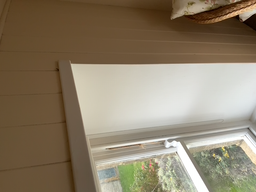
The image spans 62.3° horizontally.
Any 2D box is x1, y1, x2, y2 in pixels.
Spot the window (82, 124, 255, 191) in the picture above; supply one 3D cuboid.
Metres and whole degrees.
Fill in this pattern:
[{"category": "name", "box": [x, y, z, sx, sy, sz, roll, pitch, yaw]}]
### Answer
[{"category": "window", "box": [0.420, 0.540, 0.940, 0.890, 1.090, 0.080, -115, 30, -43]}]
